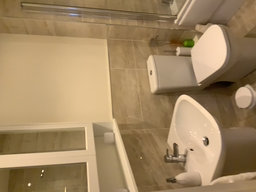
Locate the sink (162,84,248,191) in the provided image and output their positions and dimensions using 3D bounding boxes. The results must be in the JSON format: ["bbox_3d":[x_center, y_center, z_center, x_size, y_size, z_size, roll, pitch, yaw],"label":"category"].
[{"bbox_3d":[0.440,0.230,1.390,0.550,0.180,0.460,-119,32,-64],"label":"sink"}]

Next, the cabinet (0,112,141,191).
[{"bbox_3d":[-0.520,0.360,1.230,0.850,1.010,0.160,-119,32,-64],"label":"cabinet"}]

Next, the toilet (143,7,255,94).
[{"bbox_3d":[0.640,-0.340,1.860,0.630,0.830,0.400,118,149,-62],"label":"toilet"}]
